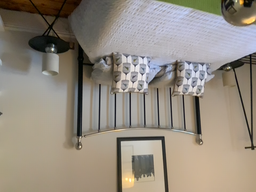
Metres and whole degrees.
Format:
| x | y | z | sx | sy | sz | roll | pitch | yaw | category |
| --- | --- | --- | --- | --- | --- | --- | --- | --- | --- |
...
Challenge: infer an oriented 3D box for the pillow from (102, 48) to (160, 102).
| x | y | z | sx | sy | sz | roll | pitch | yaw | category |
| --- | --- | --- | --- | --- | --- | --- | --- | --- | --- |
| 0.030 | -0.210 | 2.140 | 0.410 | 0.410 | 0.230 | -19 | 179 | -26 | pillow |

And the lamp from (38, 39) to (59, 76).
| x | y | z | sx | sy | sz | roll | pitch | yaw | category |
| --- | --- | --- | --- | --- | --- | --- | --- | --- | --- |
| -0.790 | -0.370 | 2.100 | 0.170 | 0.280 | 0.240 | 3 | 170 | -21 | lamp |

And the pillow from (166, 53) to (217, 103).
| x | y | z | sx | sy | sz | roll | pitch | yaw | category |
| --- | --- | --- | --- | --- | --- | --- | --- | --- | --- |
| 0.710 | -0.200 | 2.350 | 0.450 | 0.390 | 0.170 | -28 | -177 | -29 | pillow |
